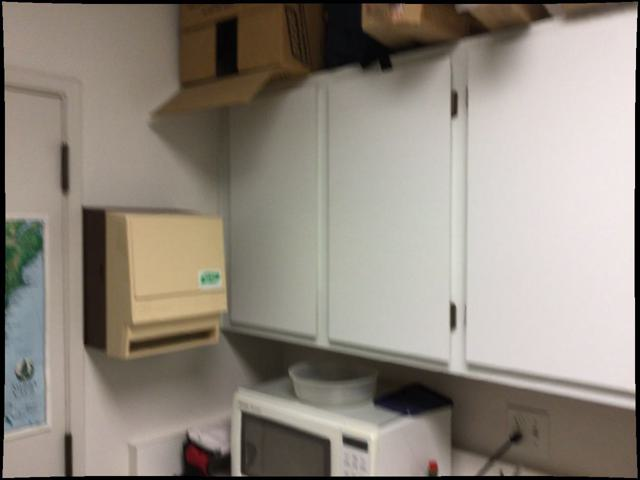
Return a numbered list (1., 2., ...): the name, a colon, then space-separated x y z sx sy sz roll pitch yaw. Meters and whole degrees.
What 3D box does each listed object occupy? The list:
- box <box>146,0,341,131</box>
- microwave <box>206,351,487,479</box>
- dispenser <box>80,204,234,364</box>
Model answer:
1. box: -0.230 -0.601 1.710 0.440 0.470 0.380 3 3 44
2. microwave: 0.060 0.571 1.670 0.660 0.320 0.470 3 3 44
3. dispenser: -0.450 0.100 1.610 0.250 0.390 0.330 3 3 44
